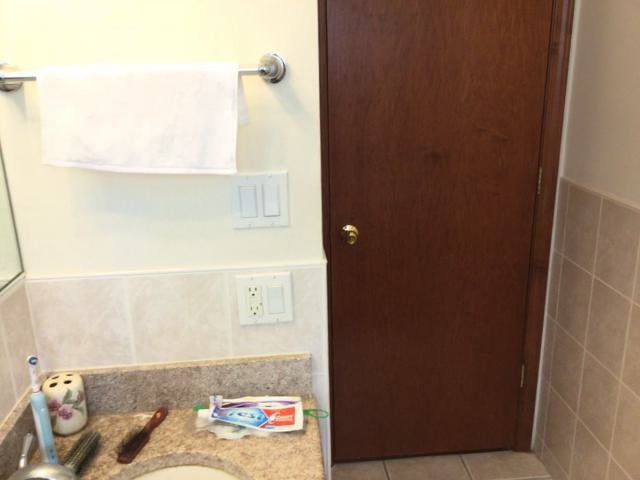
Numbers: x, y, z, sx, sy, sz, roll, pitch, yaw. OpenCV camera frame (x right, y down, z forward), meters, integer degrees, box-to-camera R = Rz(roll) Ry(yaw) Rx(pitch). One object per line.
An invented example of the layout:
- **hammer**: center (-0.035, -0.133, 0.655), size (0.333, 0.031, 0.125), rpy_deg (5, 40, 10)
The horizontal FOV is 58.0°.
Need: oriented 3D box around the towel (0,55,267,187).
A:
- **towel**: center (-0.310, -0.210, 1.010), size (0.420, 0.200, 0.070), rpy_deg (-4, 17, -4)
